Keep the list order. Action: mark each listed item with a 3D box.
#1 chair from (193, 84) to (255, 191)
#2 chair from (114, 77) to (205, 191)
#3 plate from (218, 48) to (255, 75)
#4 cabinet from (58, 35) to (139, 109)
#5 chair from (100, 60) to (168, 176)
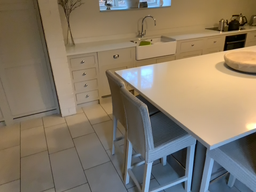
[{"bbox_3d":[0.850,0.490,1.500,0.470,0.970,0.480,-14,29,-22],"label":"chair"},{"bbox_3d":[0.230,0.400,1.730,0.530,0.960,0.360,-12,28,-19],"label":"chair"},{"bbox_3d":[1.250,-0.350,2.100,0.450,0.090,0.470,-13,28,-21],"label":"plate"},{"bbox_3d":[-0.480,-0.450,3.590,1.130,0.900,0.680,-13,28,-21],"label":"cabinet"},{"bbox_3d":[0.060,0.210,2.110,0.470,0.980,0.420,-13,28,-20],"label":"chair"}]
